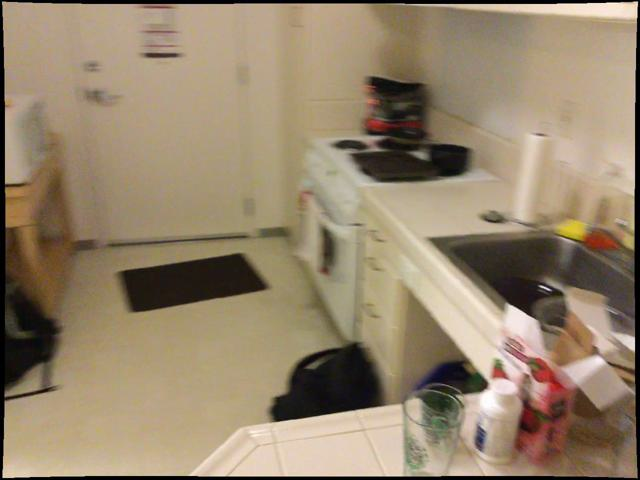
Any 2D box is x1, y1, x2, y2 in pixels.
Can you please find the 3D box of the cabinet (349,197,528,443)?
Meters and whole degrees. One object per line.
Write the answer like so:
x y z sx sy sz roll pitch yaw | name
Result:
0.390 0.270 2.140 0.380 0.701 0.510 -4 25 -15 | cabinet

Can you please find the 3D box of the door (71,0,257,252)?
-0.839 -0.911 3.280 0.949 2.072 0.110 -4 26 -14 | door

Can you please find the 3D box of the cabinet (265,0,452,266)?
0.140 -1.091 3.050 0.699 2.232 0.910 -4 25 -15 | cabinet
